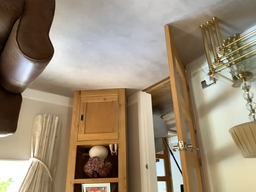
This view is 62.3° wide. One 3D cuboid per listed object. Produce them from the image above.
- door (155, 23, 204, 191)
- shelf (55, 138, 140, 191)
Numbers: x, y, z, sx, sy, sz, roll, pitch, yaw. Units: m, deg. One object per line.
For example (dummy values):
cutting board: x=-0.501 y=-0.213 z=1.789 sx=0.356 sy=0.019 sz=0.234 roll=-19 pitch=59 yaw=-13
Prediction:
door: x=0.430 y=0.460 z=1.570 sx=0.110 sy=1.940 sz=0.690 roll=-11 pitch=155 yaw=22
shelf: x=-0.370 y=1.260 z=2.410 sx=0.730 sy=1.370 sz=0.720 roll=15 pitch=152 yaw=-33
